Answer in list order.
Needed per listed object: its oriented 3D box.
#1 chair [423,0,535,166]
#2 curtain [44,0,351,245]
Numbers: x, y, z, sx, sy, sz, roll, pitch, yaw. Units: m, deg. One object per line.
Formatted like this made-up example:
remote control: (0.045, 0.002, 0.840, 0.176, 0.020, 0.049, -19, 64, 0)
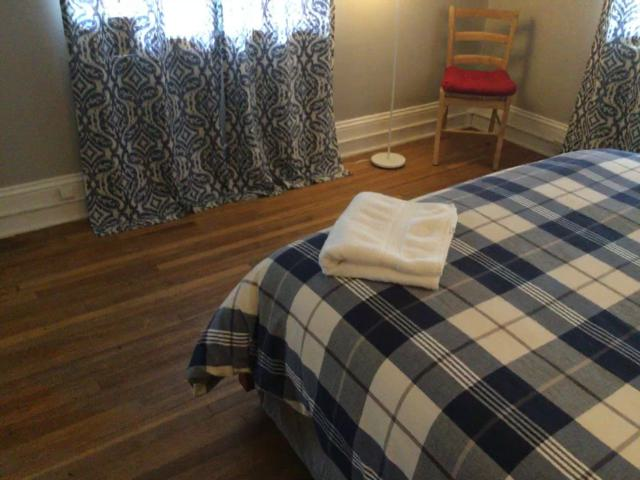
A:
chair: (0.970, -1.010, 3.610, 0.510, 0.870, 0.620, 8, 31, 12)
curtain: (-0.500, -1.150, 2.750, 1.480, 2.130, 0.210, -19, 36, -30)
